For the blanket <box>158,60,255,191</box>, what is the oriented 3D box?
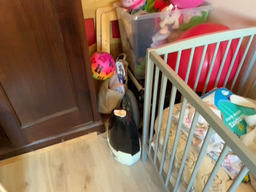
[{"bbox_3d":[0.560,0.190,0.890,0.600,0.310,0.660,-14,43,-15],"label":"blanket"}]
